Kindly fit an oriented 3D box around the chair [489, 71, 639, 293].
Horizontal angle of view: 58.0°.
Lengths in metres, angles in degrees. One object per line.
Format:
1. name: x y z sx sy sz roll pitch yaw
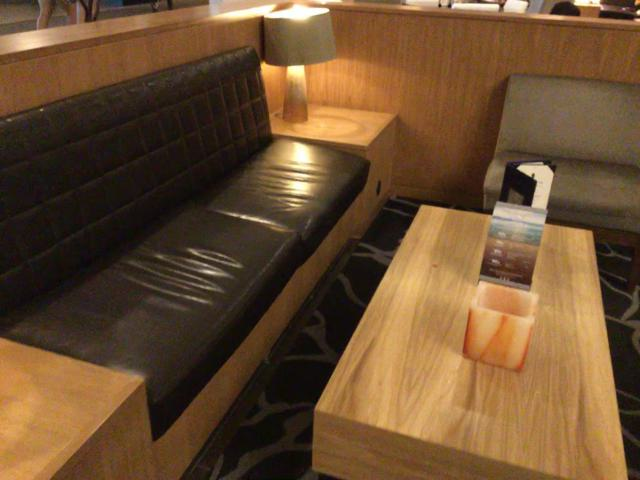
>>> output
1. chair: 1.160 -0.280 2.590 0.700 0.780 0.600 4 31 22
